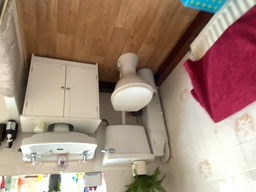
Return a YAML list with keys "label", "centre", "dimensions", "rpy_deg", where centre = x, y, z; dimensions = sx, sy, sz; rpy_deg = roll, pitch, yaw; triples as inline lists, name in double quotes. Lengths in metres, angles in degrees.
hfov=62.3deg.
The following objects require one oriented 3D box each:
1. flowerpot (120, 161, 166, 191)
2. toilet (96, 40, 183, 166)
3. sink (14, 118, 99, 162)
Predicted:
- label: "flowerpot"
  centre: [0.130, 0.760, 1.920]
  dimensions: [0.320, 0.290, 0.210]
  rpy_deg: [7, 149, -23]
- label: "toilet"
  centre: [0.020, 0.100, 1.940]
  dimensions: [0.450, 0.890, 0.700]
  rpy_deg: [4, 150, -20]
- label: "sink"
  centre: [-0.570, 0.370, 1.730]
  dimensions: [0.580, 0.220, 0.390]
  rpy_deg: [4, 150, -20]
